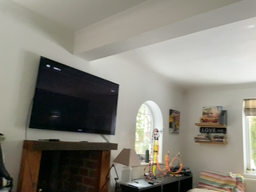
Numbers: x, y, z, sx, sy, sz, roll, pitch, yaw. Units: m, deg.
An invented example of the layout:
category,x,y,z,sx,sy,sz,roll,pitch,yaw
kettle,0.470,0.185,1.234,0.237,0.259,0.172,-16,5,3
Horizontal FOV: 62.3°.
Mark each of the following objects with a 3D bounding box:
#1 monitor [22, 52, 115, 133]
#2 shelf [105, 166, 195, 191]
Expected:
category,x,y,z,sx,sy,sz,roll,pitch,yaw
monitor,-0.630,0.040,2.680,0.060,0.790,1.270,-6,-14,38
shelf,0.510,1.640,3.590,0.530,0.660,2.100,-5,-14,36
